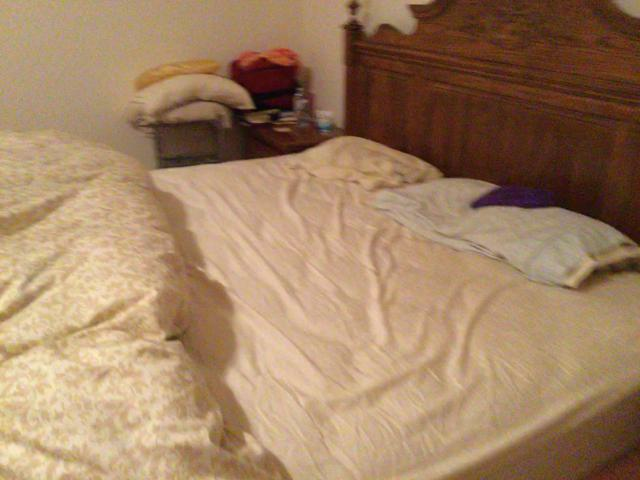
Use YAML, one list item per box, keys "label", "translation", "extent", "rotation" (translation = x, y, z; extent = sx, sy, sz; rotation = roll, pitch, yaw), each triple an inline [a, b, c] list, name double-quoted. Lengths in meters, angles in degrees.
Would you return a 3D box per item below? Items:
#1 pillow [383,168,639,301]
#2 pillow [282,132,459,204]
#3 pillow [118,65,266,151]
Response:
- label: "pillow"
  translation: [0.560, -0.060, 1.730]
  extent: [0.410, 0.160, 0.730]
  rotation: [-6, 20, -25]
- label: "pillow"
  translation: [0.180, -0.310, 2.320]
  extent: [0.500, 0.170, 0.530]
  rotation: [-6, 20, -25]
- label: "pillow"
  translation: [-0.640, -0.670, 2.880]
  extent: [0.620, 0.360, 0.440]
  rotation: [-6, 20, -25]
